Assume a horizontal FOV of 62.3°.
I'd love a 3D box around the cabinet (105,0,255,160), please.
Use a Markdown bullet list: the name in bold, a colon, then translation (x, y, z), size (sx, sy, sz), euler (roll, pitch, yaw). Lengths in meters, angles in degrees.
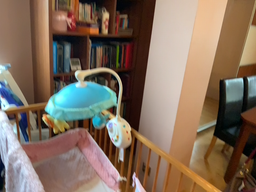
- **cabinet**: translation (1.100, -0.750, 3.060), size (2.770, 2.480, 0.670), euler (-11, 26, -39)
